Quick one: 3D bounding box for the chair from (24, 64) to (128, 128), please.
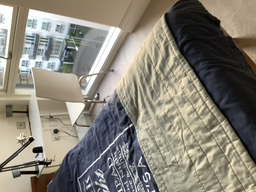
[{"bbox_3d":[-0.530,0.010,2.150,0.490,0.860,0.360,-52,49,41],"label":"chair"}]

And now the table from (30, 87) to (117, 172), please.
[{"bbox_3d":[-0.650,0.340,2.430,0.390,0.740,0.790,-52,49,40],"label":"table"}]

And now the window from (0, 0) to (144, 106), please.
[{"bbox_3d":[-1.040,-0.330,1.900,1.230,2.150,0.190,-51,50,42],"label":"window"}]
